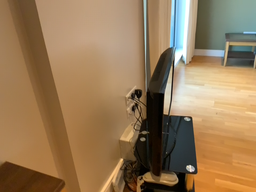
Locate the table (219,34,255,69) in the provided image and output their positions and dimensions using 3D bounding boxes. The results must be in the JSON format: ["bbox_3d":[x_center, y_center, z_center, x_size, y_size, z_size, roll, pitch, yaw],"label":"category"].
[{"bbox_3d":[2.150,-0.900,4.160,0.600,0.490,0.700,7,29,21],"label":"table"}]
